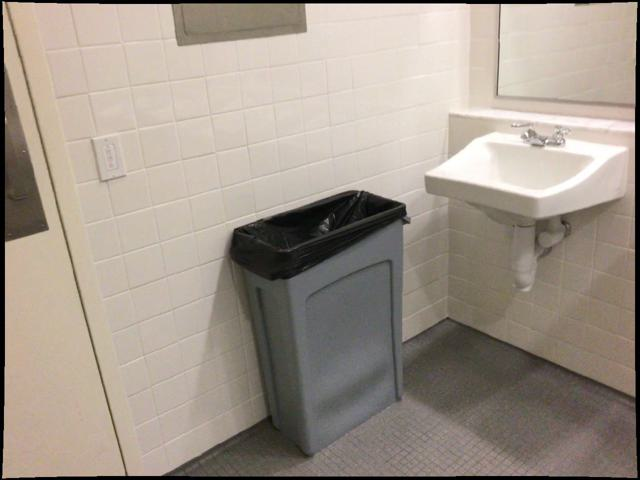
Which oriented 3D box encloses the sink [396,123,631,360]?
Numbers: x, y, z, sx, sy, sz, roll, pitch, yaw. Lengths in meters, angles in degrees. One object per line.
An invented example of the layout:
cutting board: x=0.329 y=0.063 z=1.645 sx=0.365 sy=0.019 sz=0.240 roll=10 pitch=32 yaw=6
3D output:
sink: x=0.628 y=-0.040 z=1.980 sx=0.469 sy=0.581 sz=0.540 roll=-18 pitch=28 yaw=-34

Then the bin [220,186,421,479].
bin: x=0.020 y=0.291 z=1.990 sx=0.579 sy=0.802 sz=0.300 roll=-18 pitch=28 yaw=-34
